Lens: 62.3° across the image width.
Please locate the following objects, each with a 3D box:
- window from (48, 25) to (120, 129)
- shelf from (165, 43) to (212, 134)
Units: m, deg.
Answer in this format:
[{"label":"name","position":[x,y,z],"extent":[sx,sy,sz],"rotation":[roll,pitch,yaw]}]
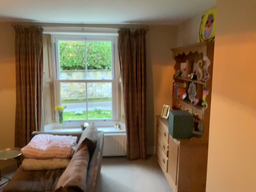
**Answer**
[{"label":"window","position":[-0.780,-0.330,3.980],"extent":[1.240,1.880,0.230],"rotation":[0,9,-2]},{"label":"shelf","position":[0.780,-0.150,2.970],"extent":[0.190,1.060,1.030],"rotation":[-1,9,-7]}]
